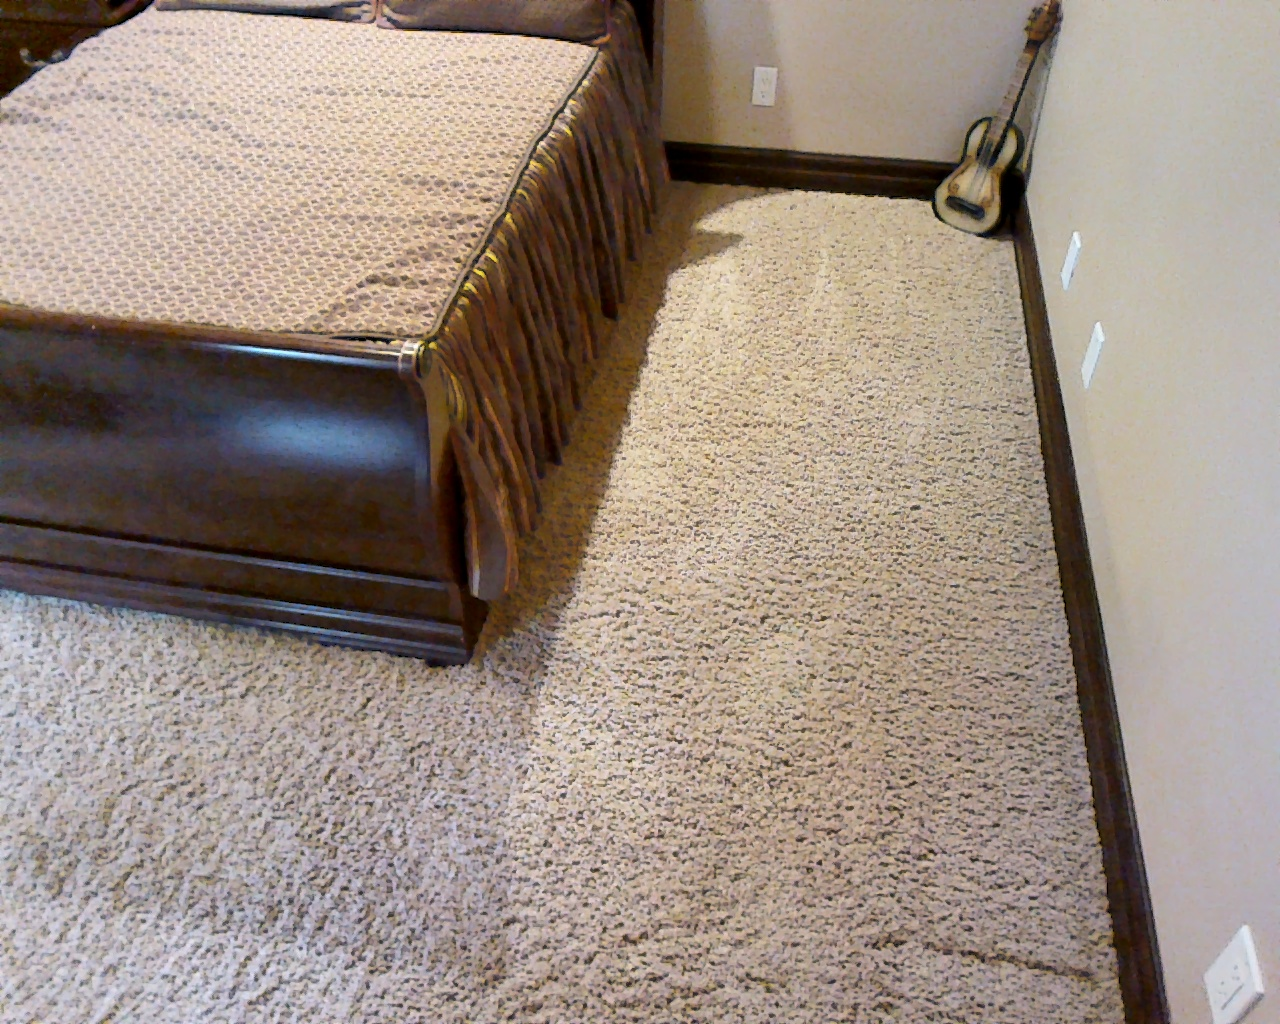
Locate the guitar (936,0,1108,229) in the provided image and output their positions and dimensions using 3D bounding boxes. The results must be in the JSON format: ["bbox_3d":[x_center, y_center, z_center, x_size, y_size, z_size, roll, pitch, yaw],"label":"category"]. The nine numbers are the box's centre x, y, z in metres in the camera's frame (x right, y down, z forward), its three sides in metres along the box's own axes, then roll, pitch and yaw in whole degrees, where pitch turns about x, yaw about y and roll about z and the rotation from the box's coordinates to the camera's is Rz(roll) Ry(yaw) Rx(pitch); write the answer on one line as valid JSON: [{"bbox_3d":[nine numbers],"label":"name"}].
[{"bbox_3d":[1.070,-1.190,3.050,0.210,0.660,0.290,-11,44,-12],"label":"guitar"}]
